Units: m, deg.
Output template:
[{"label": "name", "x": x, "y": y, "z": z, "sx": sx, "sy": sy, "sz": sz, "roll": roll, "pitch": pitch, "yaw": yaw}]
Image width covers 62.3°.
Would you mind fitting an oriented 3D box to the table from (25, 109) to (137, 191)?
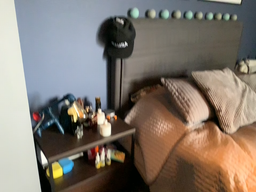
[{"label": "table", "x": -0.320, "y": 0.460, "z": 1.490, "sx": 0.600, "sy": 0.510, "sz": 0.420, "roll": -12, "pitch": 26, "yaw": -34}]
